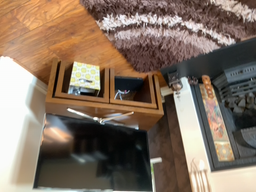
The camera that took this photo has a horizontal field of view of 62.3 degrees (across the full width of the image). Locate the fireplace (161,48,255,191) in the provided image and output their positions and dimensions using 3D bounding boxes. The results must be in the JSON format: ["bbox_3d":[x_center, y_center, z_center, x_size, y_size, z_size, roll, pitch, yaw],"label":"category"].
[{"bbox_3d":[1.050,0.230,1.780,1.330,1.200,0.390,-16,146,19],"label":"fireplace"}]

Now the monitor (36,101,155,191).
[{"bbox_3d":[-0.200,0.430,1.720,0.920,0.600,0.080,16,143,-28],"label":"monitor"}]
